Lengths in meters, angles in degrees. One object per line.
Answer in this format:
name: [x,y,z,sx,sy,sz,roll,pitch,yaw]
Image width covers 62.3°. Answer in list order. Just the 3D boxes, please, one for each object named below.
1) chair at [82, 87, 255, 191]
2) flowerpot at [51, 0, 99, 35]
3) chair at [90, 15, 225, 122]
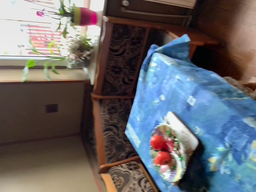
chair: [0.310,0.560,1.580,1.570,0.860,0.490,52,137,47]
flowerpot: [-0.390,-0.570,1.550,0.110,0.310,0.190,47,133,51]
chair: [0.200,-0.220,1.710,0.420,0.840,0.640,53,138,47]
